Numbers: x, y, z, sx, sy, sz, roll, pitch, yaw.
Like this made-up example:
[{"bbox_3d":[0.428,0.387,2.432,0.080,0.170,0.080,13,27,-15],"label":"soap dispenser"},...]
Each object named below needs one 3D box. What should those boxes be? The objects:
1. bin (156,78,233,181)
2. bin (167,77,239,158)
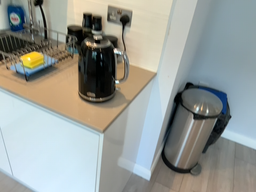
[{"bbox_3d":[0.510,0.260,1.680,0.310,0.660,0.370,25,36,24],"label":"bin"},{"bbox_3d":[0.700,0.180,2.000,0.450,0.480,0.440,21,35,19],"label":"bin"}]
